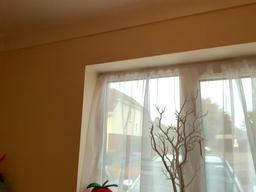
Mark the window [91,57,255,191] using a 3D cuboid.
[{"bbox_3d":[0.310,0.300,1.150,1.100,1.000,0.020,-3,-13,19],"label":"window"}]
